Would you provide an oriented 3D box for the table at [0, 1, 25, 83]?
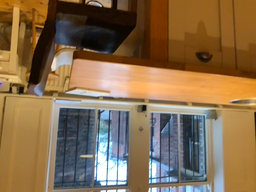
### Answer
[{"bbox_3d":[-1.420,-0.560,2.240,0.480,0.730,0.430,5,171,-17],"label":"table"}]
